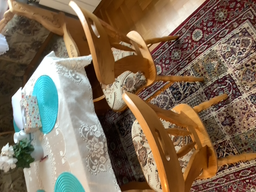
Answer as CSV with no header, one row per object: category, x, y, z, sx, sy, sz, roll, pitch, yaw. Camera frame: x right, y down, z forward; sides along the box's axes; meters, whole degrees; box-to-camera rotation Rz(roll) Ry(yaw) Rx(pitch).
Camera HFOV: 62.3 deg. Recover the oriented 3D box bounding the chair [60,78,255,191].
chair,0.220,0.250,1.100,0.500,0.890,0.430,-36,66,37
